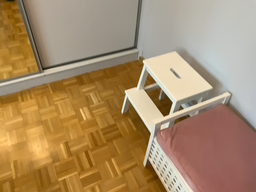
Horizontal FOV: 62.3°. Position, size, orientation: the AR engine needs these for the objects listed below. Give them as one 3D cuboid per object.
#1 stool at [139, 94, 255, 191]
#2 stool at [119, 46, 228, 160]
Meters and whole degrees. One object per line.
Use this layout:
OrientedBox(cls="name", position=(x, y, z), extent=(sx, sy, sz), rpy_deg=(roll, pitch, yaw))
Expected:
OrientedBox(cls="stool", position=(0.530, 0.540, 1.020), extent=(0.520, 0.460, 0.940), rpy_deg=(-18, 52, -20))
OrientedBox(cls="stool", position=(0.240, 0.040, 1.410), extent=(0.440, 0.490, 0.450), rpy_deg=(-16, 52, -19))
